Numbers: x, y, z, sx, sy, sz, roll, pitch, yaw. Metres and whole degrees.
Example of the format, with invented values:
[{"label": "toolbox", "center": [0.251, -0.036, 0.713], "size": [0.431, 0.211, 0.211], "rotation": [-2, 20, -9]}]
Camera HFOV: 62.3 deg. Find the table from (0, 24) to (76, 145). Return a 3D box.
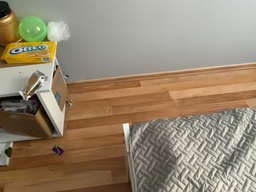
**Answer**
[{"label": "table", "center": [-0.720, -0.030, 1.080], "size": [0.810, 0.430, 0.410], "rotation": [-6, 52, -4]}]
